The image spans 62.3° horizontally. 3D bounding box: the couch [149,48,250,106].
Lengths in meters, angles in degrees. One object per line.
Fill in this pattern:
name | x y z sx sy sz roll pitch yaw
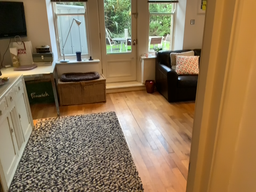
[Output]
couch | 1.320 -0.440 4.200 1.530 0.810 0.970 -6 21 -13
